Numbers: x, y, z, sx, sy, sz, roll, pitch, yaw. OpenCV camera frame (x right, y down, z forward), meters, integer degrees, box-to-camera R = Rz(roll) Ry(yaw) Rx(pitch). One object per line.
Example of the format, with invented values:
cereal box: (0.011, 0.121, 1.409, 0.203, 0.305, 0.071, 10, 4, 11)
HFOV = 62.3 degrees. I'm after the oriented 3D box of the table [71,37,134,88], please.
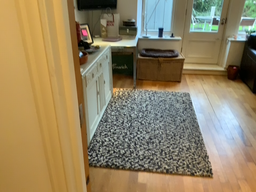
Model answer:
table: (-0.400, -0.640, 3.890, 0.970, 0.680, 0.840, 3, 26, 3)
